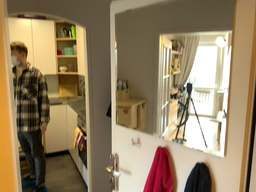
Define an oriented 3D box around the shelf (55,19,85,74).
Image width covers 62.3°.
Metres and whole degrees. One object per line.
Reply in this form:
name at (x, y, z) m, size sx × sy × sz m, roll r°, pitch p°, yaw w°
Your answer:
shelf at (-1.080, -0.900, 3.950) m, size 0.440 × 0.950 × 0.300 m, roll -4°, pitch 11°, yaw -26°
